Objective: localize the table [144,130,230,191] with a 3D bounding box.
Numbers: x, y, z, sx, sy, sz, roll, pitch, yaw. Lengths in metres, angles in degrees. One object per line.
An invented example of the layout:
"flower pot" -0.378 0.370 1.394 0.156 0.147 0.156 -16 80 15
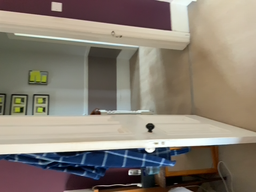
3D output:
"table" 0.480 0.520 1.830 0.410 0.550 0.430 152 118 -70
